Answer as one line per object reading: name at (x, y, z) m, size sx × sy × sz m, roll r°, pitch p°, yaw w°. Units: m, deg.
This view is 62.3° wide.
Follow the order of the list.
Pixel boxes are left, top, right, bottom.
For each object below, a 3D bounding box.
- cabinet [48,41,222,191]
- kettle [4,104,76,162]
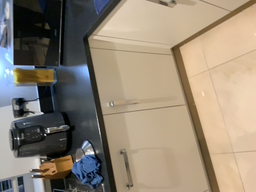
cabinet at (0.100, 0.630, 1.530) m, size 0.650 × 0.890 × 1.820 m, roll -25°, pitch 74°, yaw 50°
kettle at (-0.580, 0.240, 1.370) m, size 0.330 × 0.330 × 0.270 m, roll -28°, pitch 71°, yaw 50°
